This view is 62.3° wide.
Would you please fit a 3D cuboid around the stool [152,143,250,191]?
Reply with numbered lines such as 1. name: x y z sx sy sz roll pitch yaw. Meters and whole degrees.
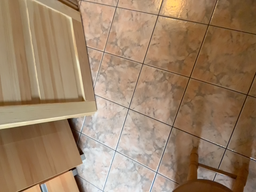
1. stool: 0.370 0.460 0.960 0.300 0.460 0.310 -26 80 23
